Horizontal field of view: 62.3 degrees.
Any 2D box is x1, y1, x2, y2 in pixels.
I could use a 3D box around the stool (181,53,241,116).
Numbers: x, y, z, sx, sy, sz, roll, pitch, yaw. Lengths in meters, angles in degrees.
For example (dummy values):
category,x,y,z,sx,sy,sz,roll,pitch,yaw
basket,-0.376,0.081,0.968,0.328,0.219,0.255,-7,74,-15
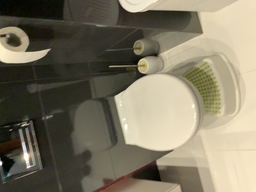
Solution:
category,x,y,z,sx,sy,sz,roll,pitch,yaw
stool,0.450,-0.060,1.170,0.220,0.110,0.290,-18,85,48
